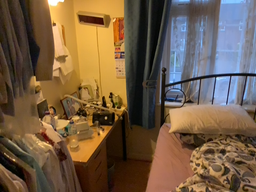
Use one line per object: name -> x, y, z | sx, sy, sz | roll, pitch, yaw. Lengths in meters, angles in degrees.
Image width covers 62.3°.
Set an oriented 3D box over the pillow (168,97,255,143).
pillow -> 0.690, 0.190, 1.880 | 0.630, 0.210, 0.420 | 3, 18, 13
